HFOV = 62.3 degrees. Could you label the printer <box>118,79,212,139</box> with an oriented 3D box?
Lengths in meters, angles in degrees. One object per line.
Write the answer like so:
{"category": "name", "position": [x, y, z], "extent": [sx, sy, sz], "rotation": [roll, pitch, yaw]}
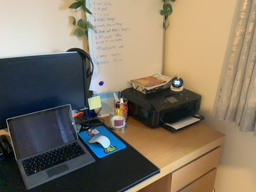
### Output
{"category": "printer", "position": [0.230, 0.050, 1.390], "extent": [0.450, 0.170, 0.390], "rotation": [-13, 25, -31]}
